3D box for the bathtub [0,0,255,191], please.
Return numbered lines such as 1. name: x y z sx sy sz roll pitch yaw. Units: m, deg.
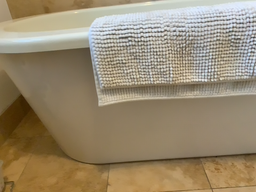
1. bathtub: 0.280 -0.140 1.070 1.790 0.620 0.860 -5 28 3
